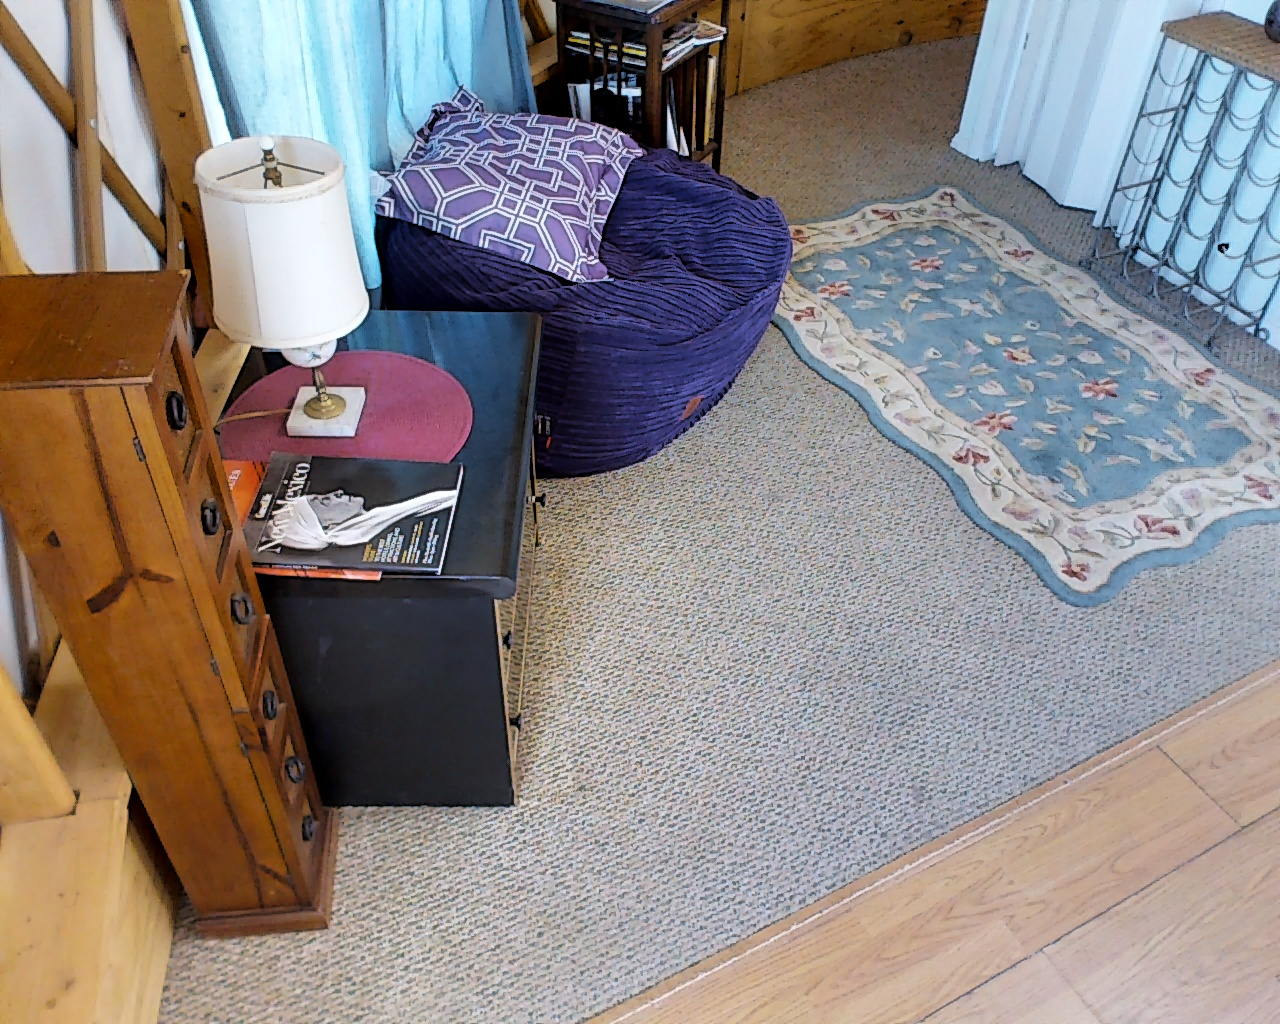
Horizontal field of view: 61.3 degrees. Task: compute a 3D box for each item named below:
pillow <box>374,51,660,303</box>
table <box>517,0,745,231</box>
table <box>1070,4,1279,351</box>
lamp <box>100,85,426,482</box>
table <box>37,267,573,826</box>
[{"bbox_3d":[-0.250,-0.810,2.530,0.480,0.240,0.730,7,43,6],"label":"pillow"},{"bbox_3d":[-0.020,-1.280,3.200,0.440,0.630,0.500,25,47,24],"label":"table"},{"bbox_3d":[1.460,-0.850,2.750,0.230,0.670,0.510,-18,46,-20],"label":"table"},{"bbox_3d":[-0.510,-0.320,1.520,0.290,0.420,0.230,31,50,28],"label":"lamp"},{"bbox_3d":[-0.450,0.040,1.830,0.620,0.590,0.740,1,42,0],"label":"table"}]
